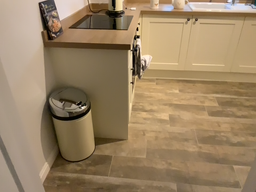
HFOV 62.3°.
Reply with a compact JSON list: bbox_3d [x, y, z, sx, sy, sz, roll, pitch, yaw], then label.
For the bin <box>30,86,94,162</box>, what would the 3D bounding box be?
[{"bbox_3d":[-0.510,0.230,1.750,0.340,0.520,0.300,4,32,6],"label":"bin"}]
